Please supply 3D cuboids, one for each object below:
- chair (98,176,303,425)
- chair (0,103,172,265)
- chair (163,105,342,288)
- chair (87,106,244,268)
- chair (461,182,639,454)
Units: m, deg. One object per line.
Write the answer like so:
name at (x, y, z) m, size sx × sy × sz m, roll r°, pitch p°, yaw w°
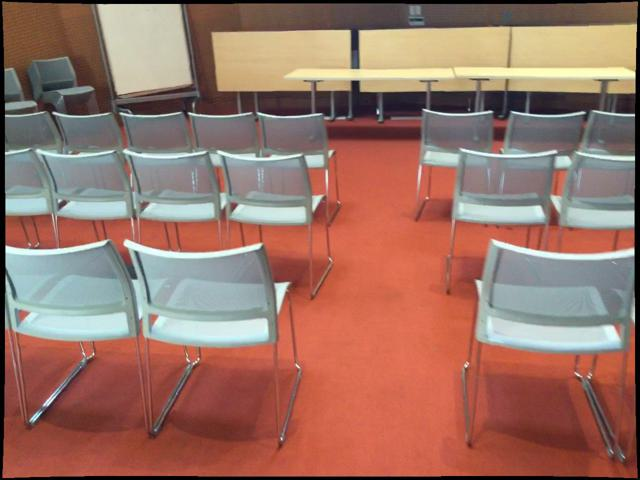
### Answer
chair at (-0.380, 0.210, 2.160) m, size 0.529 × 0.741 × 0.520 m, roll 2°, pitch 30°, yaw 6°
chair at (-1.389, -0.350, 3.420) m, size 0.699 × 0.731 × 0.610 m, roll 5°, pitch 30°, yaw 11°
chair at (-0.310, -0.270, 3.230) m, size 0.769 × 0.761 × 0.710 m, roll 3°, pitch 30°, yaw 9°
chair at (-0.829, -0.320, 3.320) m, size 0.599 × 0.721 × 0.640 m, roll 1°, pitch 30°, yaw 5°
chair at (0.829, 0.260, 2.060) m, size 0.540 × 0.761 × 0.470 m, roll 7°, pitch 31°, yaw 15°
